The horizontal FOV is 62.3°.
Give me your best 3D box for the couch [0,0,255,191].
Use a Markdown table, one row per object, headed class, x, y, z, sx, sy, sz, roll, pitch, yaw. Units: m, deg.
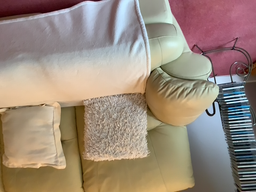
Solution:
| class | x | y | z | sx | sy | sz | roll | pitch | yaw |
| --- | --- | --- | --- | --- | --- | --- | --- | --- | --- |
| couch | -0.590 | 0.190 | 1.400 | 2.120 | 1.030 | 0.980 | -7 | 153 | 8 |
